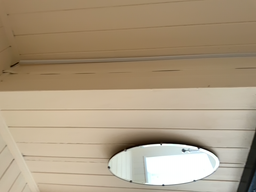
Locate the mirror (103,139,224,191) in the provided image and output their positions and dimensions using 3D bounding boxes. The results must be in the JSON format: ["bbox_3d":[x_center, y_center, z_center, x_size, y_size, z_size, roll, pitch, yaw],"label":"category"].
[{"bbox_3d":[0.210,0.450,1.350,0.050,0.680,0.430,-79,-14,-54],"label":"mirror"}]
